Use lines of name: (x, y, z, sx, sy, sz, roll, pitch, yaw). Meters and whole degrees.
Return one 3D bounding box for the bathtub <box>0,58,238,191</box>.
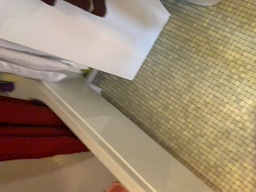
bathtub: (-0.090, 0.500, 1.070, 1.370, 0.600, 0.690, 37, 103, 26)
